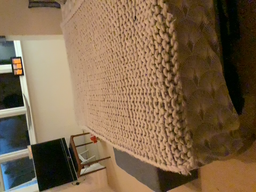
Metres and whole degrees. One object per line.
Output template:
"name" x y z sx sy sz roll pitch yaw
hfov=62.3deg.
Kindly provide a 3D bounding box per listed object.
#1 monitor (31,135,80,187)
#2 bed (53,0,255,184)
"monitor" -1.120 0.950 3.230 0.710 0.560 0.040 57 144 37
"bed" -0.110 -0.720 1.820 1.920 0.610 2.140 -2 96 63
